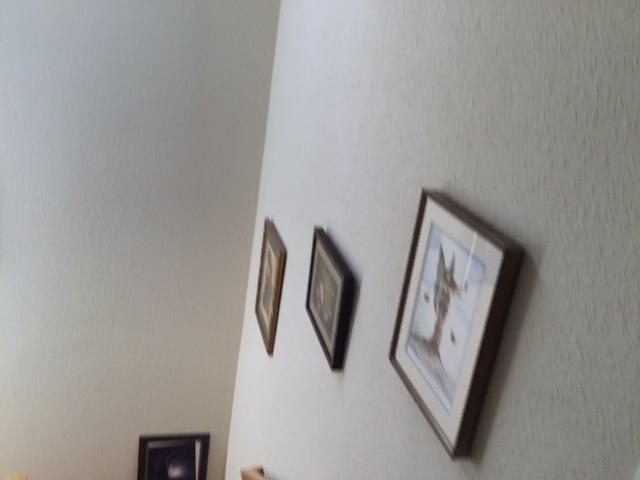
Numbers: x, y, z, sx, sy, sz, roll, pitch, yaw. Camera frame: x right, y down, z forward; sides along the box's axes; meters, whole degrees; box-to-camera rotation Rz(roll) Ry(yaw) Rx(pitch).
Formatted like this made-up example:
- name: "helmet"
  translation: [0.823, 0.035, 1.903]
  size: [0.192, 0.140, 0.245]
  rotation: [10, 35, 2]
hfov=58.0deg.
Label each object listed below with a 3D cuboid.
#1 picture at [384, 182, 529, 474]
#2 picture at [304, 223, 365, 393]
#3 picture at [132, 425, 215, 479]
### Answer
- name: "picture"
  translation: [0.220, 0.140, 1.050]
  size: [0.070, 0.400, 0.340]
  rotation: [-5, 25, -13]
- name: "picture"
  translation: [0.030, 0.190, 1.760]
  size: [0.070, 0.350, 0.410]
  rotation: [-5, 25, -13]
- name: "picture"
  translation: [-0.870, 1.370, 3.490]
  size: [0.450, 0.550, 0.090]
  rotation: [0, 24, -4]
